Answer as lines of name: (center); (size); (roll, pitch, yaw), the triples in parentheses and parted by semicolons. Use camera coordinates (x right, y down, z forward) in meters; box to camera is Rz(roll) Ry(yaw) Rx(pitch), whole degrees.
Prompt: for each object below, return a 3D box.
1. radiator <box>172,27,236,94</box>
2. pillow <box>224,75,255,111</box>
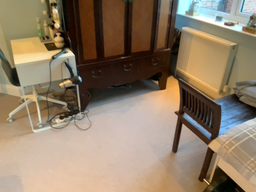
radiator: (0.900, -0.480, 2.690); (0.140, 0.580, 0.800); (-15, 36, -24)
pillow: (1.120, -0.040, 1.900); (0.320, 0.120, 0.320); (-14, 35, -24)
